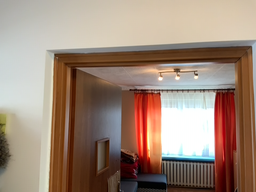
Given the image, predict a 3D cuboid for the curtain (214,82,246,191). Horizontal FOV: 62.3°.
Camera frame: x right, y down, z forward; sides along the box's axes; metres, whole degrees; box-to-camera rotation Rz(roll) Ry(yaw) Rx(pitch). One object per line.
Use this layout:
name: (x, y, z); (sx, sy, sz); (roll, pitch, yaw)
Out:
curtain: (2.400, 1.010, 5.010); (0.620, 2.690, 0.180); (0, -5, 9)
